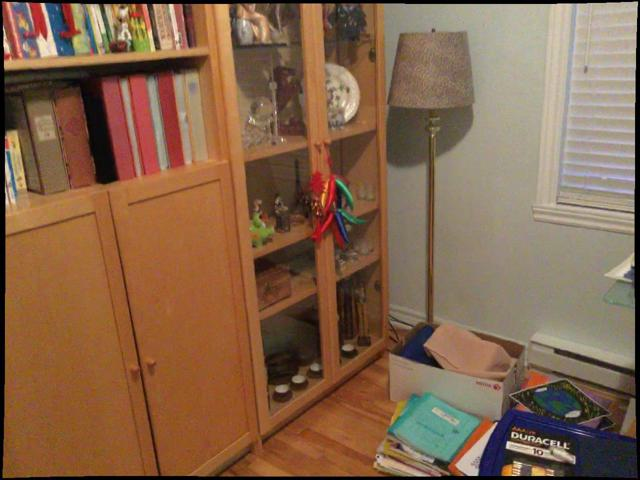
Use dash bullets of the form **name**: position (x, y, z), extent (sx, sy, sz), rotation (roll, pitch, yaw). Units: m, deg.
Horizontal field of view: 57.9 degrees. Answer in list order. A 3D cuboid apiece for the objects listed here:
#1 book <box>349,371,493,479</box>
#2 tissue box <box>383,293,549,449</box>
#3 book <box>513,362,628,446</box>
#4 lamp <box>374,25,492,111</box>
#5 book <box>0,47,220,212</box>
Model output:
- **book**: position (0.350, 0.651, 1.990), extent (0.350, 0.140, 0.360), rotation (14, 26, 38)
- **tissue box**: position (0.559, 0.470, 2.230), extent (0.460, 0.290, 0.440), rotation (14, 26, 38)
- **book**: position (0.879, 0.571, 2.050), extent (0.270, 0.100, 0.250), rotation (-11, 22, -21)
- **lamp**: position (0.430, -0.661, 2.200), extent (0.310, 0.270, 0.330), rotation (14, 26, 38)
- **book**: position (-0.609, -0.320, 1.520), extent (0.230, 0.310, 0.660), rotation (14, 26, 38)
